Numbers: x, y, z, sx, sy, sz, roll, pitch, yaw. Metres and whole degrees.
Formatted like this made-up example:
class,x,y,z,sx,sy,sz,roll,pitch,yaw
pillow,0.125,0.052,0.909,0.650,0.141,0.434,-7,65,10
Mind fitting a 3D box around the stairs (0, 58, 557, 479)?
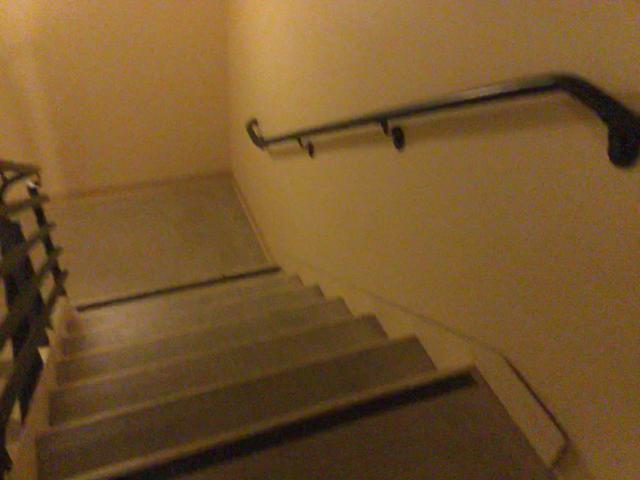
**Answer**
class,x,y,z,sx,sy,sz,roll,pitch,yaw
stairs,-0.420,0.460,2.260,1.220,1.320,2.140,-11,47,-18
